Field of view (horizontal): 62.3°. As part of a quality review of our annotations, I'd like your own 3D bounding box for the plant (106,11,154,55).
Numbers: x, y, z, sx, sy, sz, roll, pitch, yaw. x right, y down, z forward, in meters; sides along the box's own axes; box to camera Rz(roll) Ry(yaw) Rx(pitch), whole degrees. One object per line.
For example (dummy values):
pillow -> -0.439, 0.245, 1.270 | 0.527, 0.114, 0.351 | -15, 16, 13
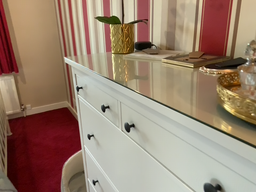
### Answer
plant -> 0.010, -0.340, 1.130 | 0.200, 0.200, 0.150 | -13, 24, -28
